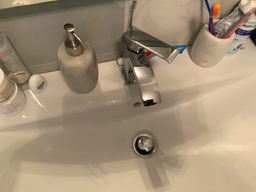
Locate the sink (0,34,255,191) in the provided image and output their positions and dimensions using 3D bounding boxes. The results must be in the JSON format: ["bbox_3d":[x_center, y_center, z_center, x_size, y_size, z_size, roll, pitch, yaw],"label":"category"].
[{"bbox_3d":[0.050,0.130,0.540,0.760,0.180,0.440,-13,63,-11],"label":"sink"}]
